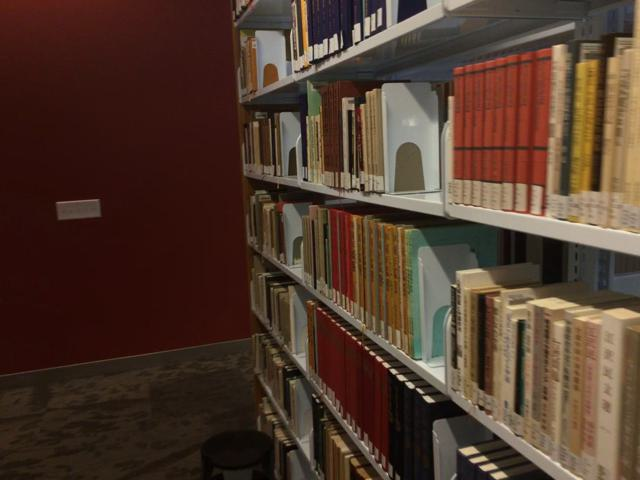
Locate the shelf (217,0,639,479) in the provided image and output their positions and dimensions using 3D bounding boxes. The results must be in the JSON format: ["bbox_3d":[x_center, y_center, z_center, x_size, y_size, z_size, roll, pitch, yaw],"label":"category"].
[{"bbox_3d":[0.520,0.160,0.970,0.690,2.340,3.950,-4,10,-18],"label":"shelf"}]
